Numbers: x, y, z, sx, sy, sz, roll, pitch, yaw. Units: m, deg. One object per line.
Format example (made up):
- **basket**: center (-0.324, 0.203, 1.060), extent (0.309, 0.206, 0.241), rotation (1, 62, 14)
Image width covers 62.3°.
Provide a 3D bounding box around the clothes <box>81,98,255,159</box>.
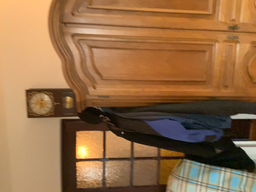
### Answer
- **clothes**: center (0.330, 0.270, 1.770), extent (0.780, 1.340, 0.370), rotation (125, 144, -77)
